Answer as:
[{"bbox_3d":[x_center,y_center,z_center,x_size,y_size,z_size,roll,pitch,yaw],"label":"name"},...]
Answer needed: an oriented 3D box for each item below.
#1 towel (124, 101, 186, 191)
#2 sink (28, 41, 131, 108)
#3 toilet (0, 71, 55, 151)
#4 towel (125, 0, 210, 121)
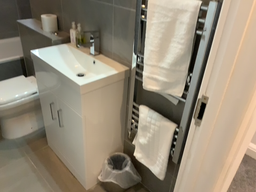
[{"bbox_3d":[0.130,0.300,1.240,0.320,0.450,0.090,30,39,35],"label":"towel"},{"bbox_3d":[-0.330,-0.180,1.360,0.350,0.130,0.640,-23,41,-37],"label":"sink"},{"bbox_3d":[-1.010,0.110,1.910,0.500,0.460,0.380,-24,41,-38],"label":"toilet"},{"bbox_3d":[0.140,-0.170,0.920,0.140,0.480,0.260,-24,41,-38],"label":"towel"}]
